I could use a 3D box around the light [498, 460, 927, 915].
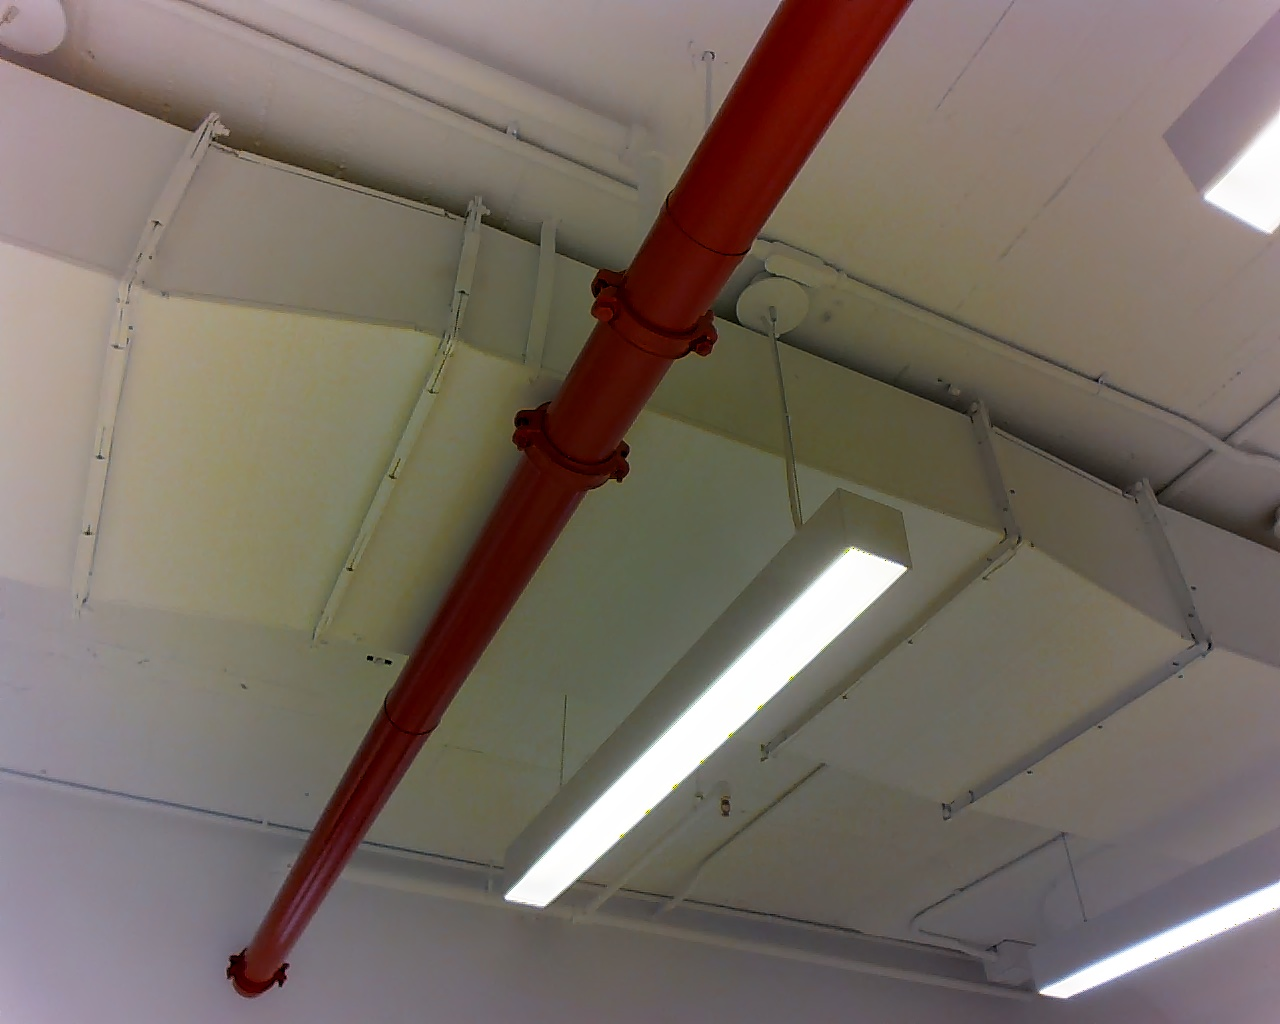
[{"bbox_3d":[0.040,0.380,1.820,0.130,1.240,0.160,18,45,-19],"label":"light"}]
